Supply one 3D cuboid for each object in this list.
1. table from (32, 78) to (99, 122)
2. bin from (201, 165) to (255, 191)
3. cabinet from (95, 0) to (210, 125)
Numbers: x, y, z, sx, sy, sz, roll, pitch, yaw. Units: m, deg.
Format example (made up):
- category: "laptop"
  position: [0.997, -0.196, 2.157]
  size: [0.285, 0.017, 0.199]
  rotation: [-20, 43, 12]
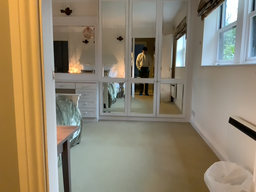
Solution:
- category: "table"
  position: [-1.160, 0.060, 4.030]
  size: [1.170, 0.770, 0.310]
  rotation: [1, 8, 4]
- category: "bin"
  position: [0.670, 0.670, 1.420]
  size: [0.290, 0.280, 0.280]
  rotation: [2, 8, 7]
- category: "cabinet"
  position: [0.390, -0.690, 3.820]
  size: [1.910, 2.360, 0.310]
  rotation: [1, 8, 4]
